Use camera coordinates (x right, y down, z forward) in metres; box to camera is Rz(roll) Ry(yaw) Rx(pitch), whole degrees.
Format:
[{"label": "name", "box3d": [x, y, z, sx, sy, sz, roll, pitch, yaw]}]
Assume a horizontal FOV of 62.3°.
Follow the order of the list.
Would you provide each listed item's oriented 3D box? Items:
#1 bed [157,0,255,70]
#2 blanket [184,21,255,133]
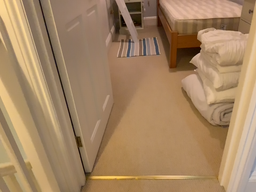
[{"label": "bed", "box3d": [1.030, -1.070, 3.070, 1.010, 0.510, 2.080, -2, 31, 3]}, {"label": "blanket", "box3d": [0.780, -0.190, 1.610, 0.520, 0.550, 0.750, -2, 31, 3]}]
